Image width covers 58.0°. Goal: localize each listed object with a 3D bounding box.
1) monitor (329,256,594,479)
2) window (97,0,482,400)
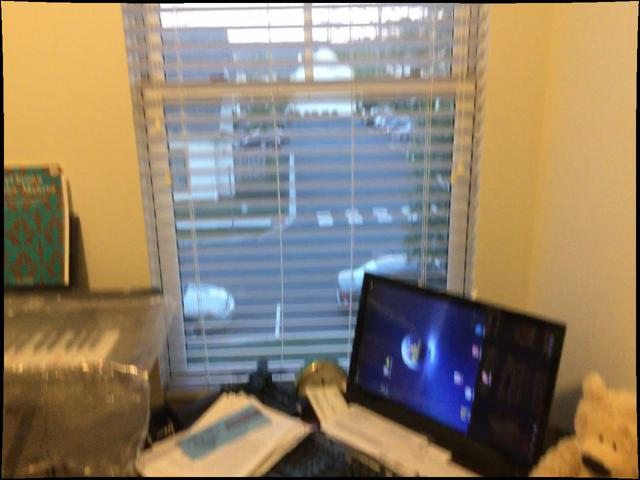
[{"bbox_3d":[0.289,0.281,1.320,0.210,0.331,0.539,-19,25,-40],"label":"monitor"},{"bbox_3d":[-0.060,-0.381,1.540,0.928,1.714,0.150,-3,19,-2],"label":"window"}]
